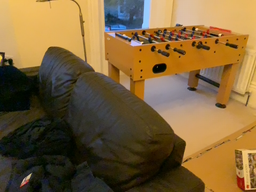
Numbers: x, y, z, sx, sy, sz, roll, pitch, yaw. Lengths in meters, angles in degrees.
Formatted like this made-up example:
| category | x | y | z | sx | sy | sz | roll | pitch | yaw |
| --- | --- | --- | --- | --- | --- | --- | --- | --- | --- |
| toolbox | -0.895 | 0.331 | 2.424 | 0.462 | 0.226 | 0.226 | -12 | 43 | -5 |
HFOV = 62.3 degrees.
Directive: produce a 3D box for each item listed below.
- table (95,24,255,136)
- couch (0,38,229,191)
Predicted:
| category | x | y | z | sx | sy | sz | roll | pitch | yaw |
| --- | --- | --- | --- | --- | --- | --- | --- | --- | --- |
| table | 0.500 | -0.300 | 2.410 | 1.520 | 0.830 | 0.770 | -12 | 30 | -26 |
| couch | -0.580 | 0.220 | 1.480 | 1.040 | 0.780 | 1.960 | -14 | 31 | -29 |
